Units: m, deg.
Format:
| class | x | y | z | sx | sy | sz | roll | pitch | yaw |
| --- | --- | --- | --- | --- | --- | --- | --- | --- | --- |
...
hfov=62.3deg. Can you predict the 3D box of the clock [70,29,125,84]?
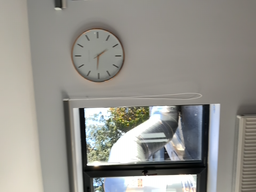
| class | x | y | z | sx | sy | sz | roll | pitch | yaw |
| --- | --- | --- | --- | --- | --- | --- | --- | --- | --- |
| clock | -0.250 | -0.330 | 1.800 | 0.040 | 0.440 | 0.450 | -95 | 3 | -81 |
